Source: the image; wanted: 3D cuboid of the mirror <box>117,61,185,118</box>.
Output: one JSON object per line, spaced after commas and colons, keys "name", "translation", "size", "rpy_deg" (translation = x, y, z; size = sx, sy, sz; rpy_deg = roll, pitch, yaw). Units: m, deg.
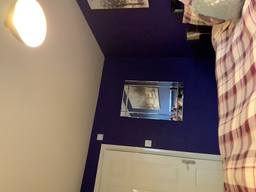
{"name": "mirror", "translation": [0.370, -0.130, 3.280], "size": [0.120, 0.970, 0.880], "rpy_deg": [68, -153, -64]}
